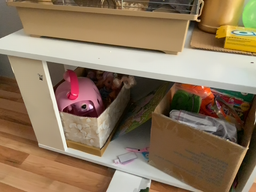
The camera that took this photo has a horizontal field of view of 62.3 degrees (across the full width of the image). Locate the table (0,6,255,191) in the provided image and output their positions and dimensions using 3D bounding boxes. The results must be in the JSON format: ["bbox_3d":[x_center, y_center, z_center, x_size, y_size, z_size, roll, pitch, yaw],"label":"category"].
[{"bbox_3d":[0.060,-0.010,0.740,0.810,0.430,0.410,11,36,14],"label":"table"}]
